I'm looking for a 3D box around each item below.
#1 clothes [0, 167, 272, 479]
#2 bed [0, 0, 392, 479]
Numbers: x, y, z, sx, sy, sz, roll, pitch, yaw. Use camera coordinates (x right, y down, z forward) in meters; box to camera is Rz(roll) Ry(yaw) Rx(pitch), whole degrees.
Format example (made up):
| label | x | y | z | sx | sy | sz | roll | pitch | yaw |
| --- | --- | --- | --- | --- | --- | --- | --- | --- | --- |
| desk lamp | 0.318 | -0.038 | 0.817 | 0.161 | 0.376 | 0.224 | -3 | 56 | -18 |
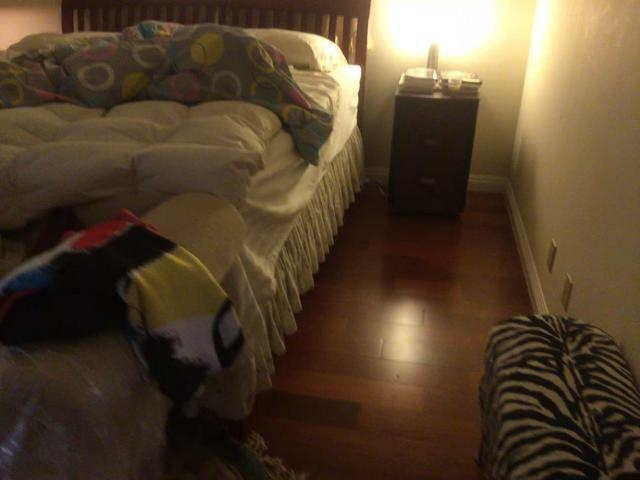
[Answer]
| label | x | y | z | sx | sy | sz | roll | pitch | yaw |
| --- | --- | --- | --- | --- | --- | --- | --- | --- | --- |
| clothes | -0.400 | 0.160 | 0.980 | 0.530 | 0.400 | 0.400 | 9 | 25 | 9 |
| bed | -0.880 | -0.440 | 2.400 | 2.010 | 1.250 | 2.340 | 9 | 25 | 9 |
